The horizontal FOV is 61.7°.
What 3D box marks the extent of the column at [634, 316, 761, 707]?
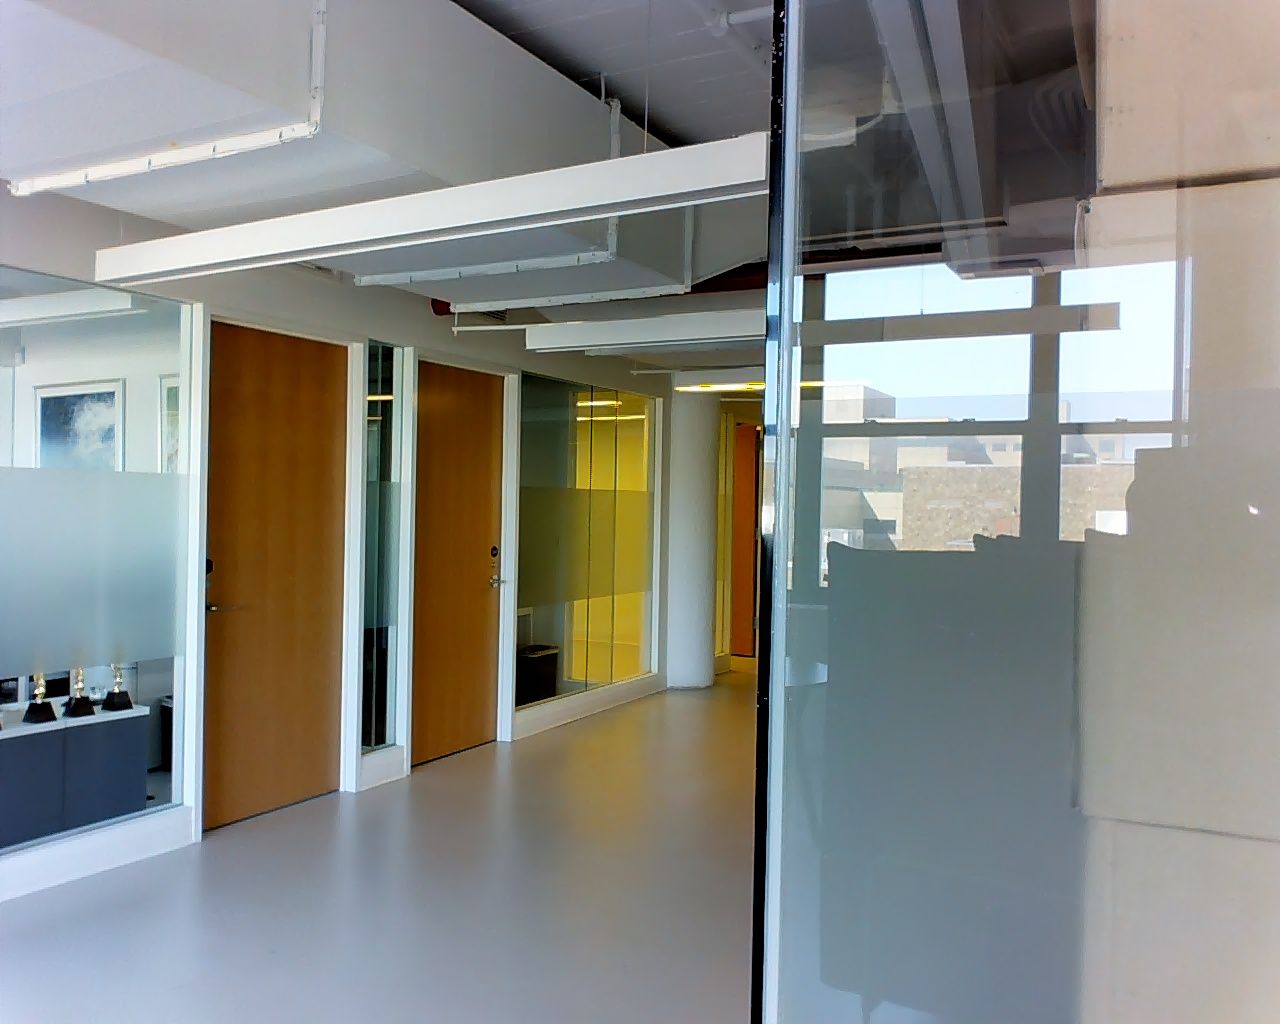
[{"bbox_3d":[0.490,0.000,8.570,0.460,2.881,1.280,1,0,28],"label":"column"}]
